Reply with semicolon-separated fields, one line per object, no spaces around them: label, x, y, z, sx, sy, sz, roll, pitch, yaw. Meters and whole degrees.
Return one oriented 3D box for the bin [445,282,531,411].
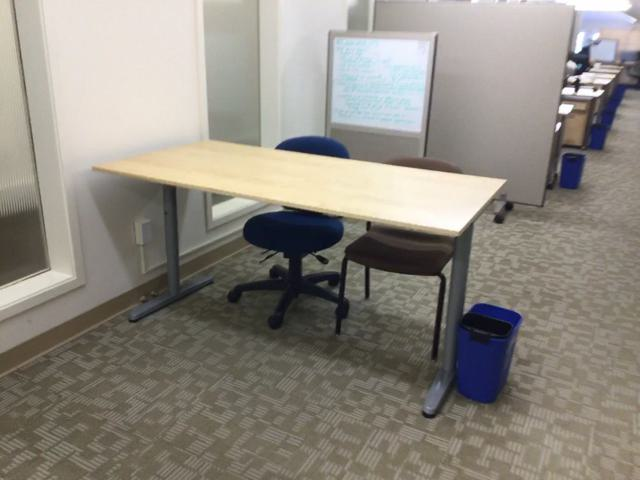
bin;0.670;0.410;2.300;0.240;0.340;0.340;10;24;24

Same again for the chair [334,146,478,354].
chair;0.390;0.010;2.610;0.460;0.720;0.570;10;24;23

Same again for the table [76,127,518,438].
table;-0.070;0.040;2.580;1.620;0.810;0.910;10;24;23

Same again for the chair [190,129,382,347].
chair;-0.130;-0.060;2.830;0.640;0.800;0.680;10;24;23
